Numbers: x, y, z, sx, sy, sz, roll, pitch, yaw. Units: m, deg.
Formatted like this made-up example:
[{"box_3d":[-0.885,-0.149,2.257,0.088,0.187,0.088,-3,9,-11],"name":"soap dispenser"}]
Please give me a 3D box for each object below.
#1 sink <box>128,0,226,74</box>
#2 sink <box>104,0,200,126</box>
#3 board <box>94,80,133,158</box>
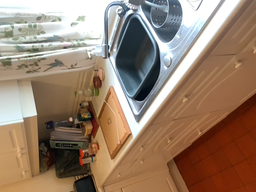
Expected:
[{"box_3d":[0.150,-0.350,0.860,0.520,0.120,0.180,66,149,27],"name":"sink"},{"box_3d":[0.070,-0.180,1.080,0.520,0.140,0.400,66,149,27],"name":"sink"},{"box_3d":[-0.120,0.170,1.390,0.460,0.020,0.350,-57,49,52],"name":"board"}]
